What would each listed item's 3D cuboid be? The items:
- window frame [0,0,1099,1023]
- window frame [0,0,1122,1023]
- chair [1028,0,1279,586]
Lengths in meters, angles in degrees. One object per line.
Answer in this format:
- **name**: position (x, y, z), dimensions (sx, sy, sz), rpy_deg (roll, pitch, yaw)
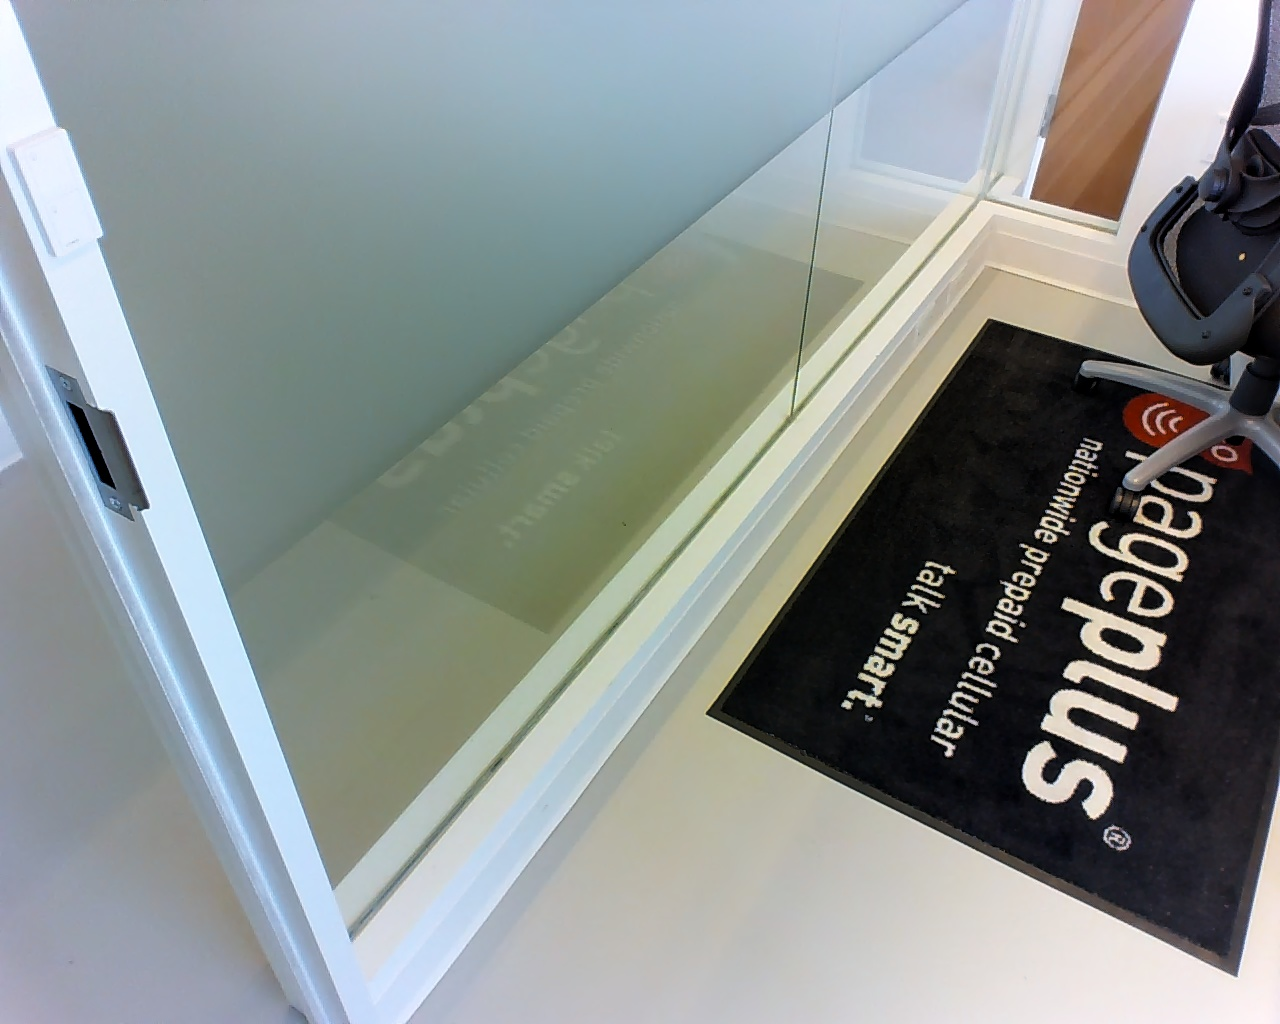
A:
- **window frame**: position (0.330, -0.940, 1.550), dimensions (0.260, 2.250, 2.800), rpy_deg (23, 47, 23)
- **window frame**: position (0.370, -0.870, 1.470), dimensions (0.230, 2.280, 2.670), rpy_deg (23, 47, 23)
- **chair**: position (1.240, -0.500, 1.970), dimensions (0.610, 1.040, 0.680), rpy_deg (22, 47, 22)
